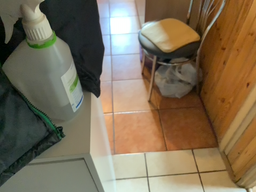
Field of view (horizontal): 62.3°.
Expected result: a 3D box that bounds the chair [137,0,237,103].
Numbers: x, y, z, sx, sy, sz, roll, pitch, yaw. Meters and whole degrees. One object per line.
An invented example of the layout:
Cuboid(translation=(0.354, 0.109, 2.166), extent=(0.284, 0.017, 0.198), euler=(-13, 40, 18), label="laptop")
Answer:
Cuboid(translation=(0.310, -0.390, 1.460), extent=(0.460, 0.860, 0.410), euler=(-3, 49, -1), label="chair")
